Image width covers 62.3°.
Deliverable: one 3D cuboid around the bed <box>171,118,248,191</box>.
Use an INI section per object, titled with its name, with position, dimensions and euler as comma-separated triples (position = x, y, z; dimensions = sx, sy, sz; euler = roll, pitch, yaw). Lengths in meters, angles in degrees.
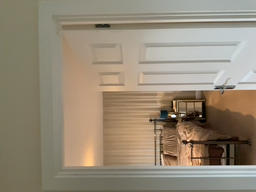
[bed]
position = 1.370, 1.330, 4.070
dimensions = 2.140, 0.670, 1.550
euler = -64, -27, -89
